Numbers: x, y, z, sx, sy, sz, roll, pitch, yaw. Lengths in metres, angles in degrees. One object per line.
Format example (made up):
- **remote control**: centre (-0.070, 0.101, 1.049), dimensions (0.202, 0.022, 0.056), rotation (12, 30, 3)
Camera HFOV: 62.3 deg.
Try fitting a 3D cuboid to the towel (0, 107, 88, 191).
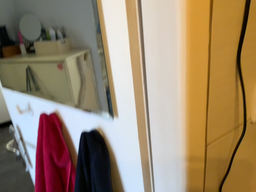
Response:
- **towel**: centre (-0.290, 0.390, 0.810), dimensions (0.160, 0.630, 0.290), rotation (-24, 29, -38)
